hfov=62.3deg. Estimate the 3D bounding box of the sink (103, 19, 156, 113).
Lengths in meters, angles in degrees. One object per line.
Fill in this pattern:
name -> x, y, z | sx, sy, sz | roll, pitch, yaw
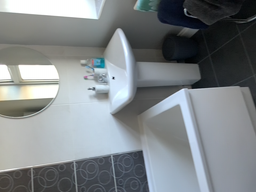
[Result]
sink -> -0.020, -0.220, 1.760 | 0.470, 0.200, 0.610 | 140, 124, -63
